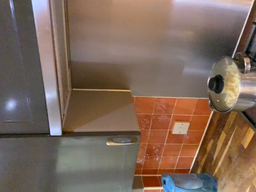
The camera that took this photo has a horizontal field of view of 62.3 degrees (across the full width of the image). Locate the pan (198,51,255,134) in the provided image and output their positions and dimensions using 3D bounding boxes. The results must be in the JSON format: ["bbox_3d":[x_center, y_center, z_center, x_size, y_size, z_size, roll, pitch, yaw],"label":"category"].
[{"bbox_3d":[0.430,-0.020,0.860,0.240,0.140,0.240,-102,16,-58],"label":"pan"}]
